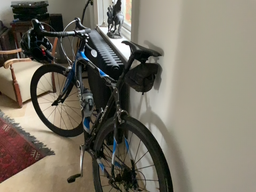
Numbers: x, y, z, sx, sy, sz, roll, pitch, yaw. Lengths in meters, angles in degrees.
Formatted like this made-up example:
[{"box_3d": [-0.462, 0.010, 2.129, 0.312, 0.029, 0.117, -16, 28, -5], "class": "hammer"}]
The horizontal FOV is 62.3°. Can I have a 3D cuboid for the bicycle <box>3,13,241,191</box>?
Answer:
[{"box_3d": [-0.380, 0.100, 1.530, 0.590, 1.080, 1.920, -15, 32, -26], "class": "bicycle"}]

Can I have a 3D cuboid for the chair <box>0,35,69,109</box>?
[{"box_3d": [-1.190, -0.330, 2.580, 0.530, 0.630, 0.640, 21, 34, 34], "class": "chair"}]
